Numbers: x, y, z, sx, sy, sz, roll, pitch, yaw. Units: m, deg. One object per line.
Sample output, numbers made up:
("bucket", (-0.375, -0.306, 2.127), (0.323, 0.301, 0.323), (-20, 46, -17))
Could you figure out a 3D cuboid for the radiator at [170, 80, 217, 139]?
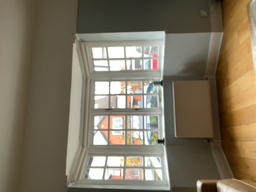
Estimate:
("radiator", (0.960, 0.200, 3.170), (0.130, 0.610, 0.870), (74, -164, -77))
